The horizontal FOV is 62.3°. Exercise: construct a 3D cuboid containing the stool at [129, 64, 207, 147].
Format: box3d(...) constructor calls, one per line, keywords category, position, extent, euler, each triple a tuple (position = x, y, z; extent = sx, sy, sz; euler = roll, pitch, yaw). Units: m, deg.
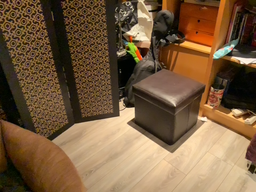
box3d(category="stool", position=(0.310, 0.050, 1.750), extent=(0.420, 0.410, 0.420), euler=(-29, 42, -34))
